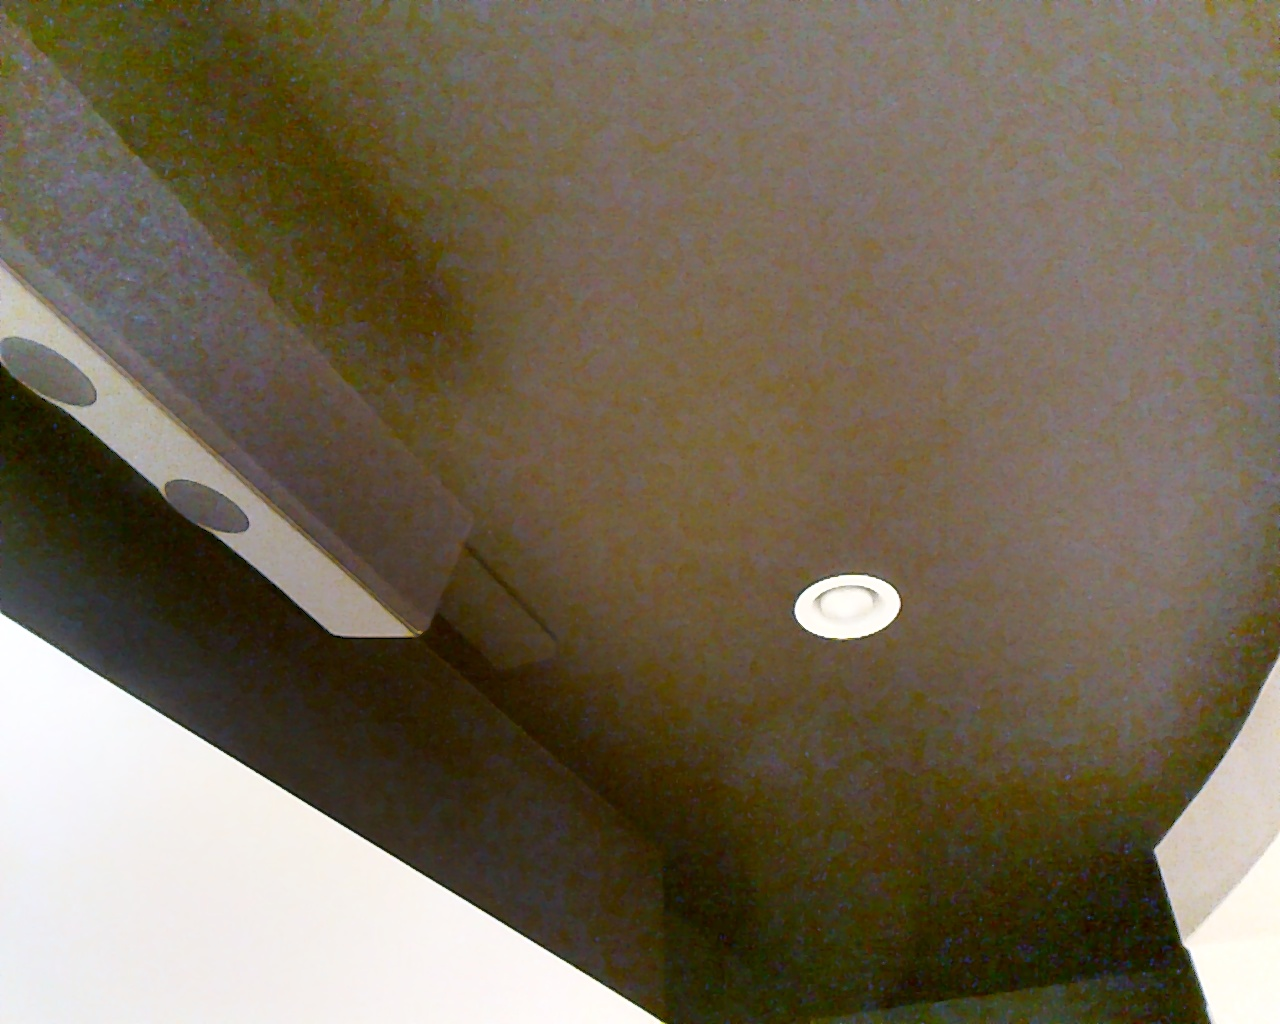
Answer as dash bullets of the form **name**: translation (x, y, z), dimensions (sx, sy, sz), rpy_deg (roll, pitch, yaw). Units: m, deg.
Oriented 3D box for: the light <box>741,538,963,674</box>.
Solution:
- **light**: translation (0.260, 0.120, 1.290), dimensions (0.210, 0.030, 0.210), rpy_deg (-18, -35, 20)
